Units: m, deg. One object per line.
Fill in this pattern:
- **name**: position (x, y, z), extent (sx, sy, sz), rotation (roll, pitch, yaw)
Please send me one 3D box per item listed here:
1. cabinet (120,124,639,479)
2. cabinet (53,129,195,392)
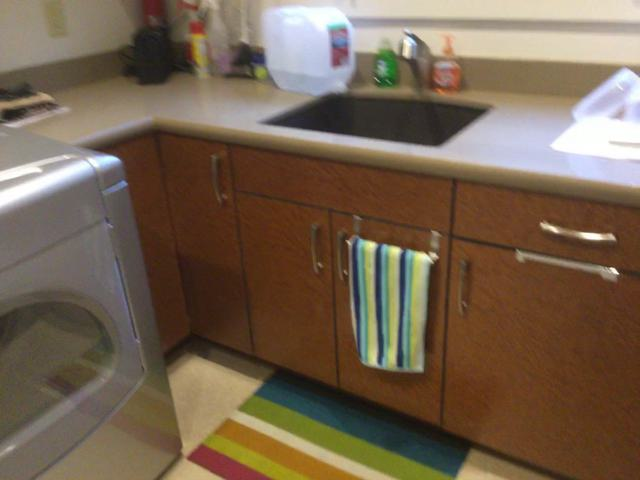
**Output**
- **cabinet**: position (0.190, 0.210, 1.520), extent (1.590, 0.820, 0.190), rotation (13, 31, 27)
- **cabinet**: position (-0.560, 0.070, 1.750), extent (0.060, 0.740, 0.320), rotation (13, 31, 27)
